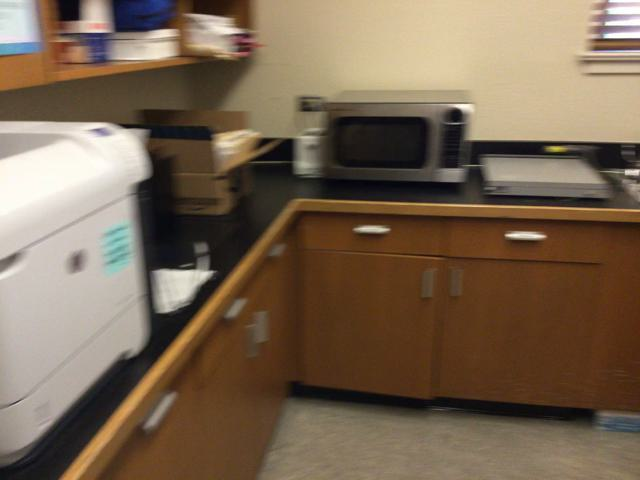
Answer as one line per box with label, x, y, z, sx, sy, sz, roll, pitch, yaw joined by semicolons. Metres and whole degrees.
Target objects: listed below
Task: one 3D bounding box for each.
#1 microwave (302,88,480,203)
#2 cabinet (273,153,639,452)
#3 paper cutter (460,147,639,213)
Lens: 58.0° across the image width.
microwave;0.280;-0.380;2.220;0.590;0.340;0.530;1;19;10
cabinet;0.680;0.180;2.200;1.550;0.910;0.630;1;19;10
paper cutter;0.780;-0.230;2.070;0.510;0.100;0.580;1;19;10
